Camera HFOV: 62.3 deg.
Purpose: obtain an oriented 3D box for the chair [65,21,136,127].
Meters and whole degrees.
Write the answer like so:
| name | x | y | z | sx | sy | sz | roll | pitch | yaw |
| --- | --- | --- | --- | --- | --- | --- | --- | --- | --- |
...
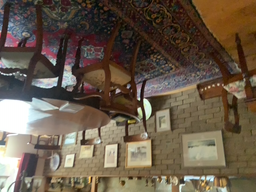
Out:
| name | x | y | z | sx | sy | sz | roll | pitch | yaw |
| --- | --- | --- | --- | --- | --- | --- | --- | --- | --- |
| chair | -0.260 | -0.190 | 2.160 | 0.500 | 0.870 | 0.440 | -18 | 151 | 41 |

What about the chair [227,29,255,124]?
| name | x | y | z | sx | sy | sz | roll | pitch | yaw |
| --- | --- | --- | --- | --- | --- | --- | --- | --- | --- |
| chair | 1.320 | -0.200 | 2.100 | 0.420 | 0.840 | 0.350 | -18 | 151 | 41 |
